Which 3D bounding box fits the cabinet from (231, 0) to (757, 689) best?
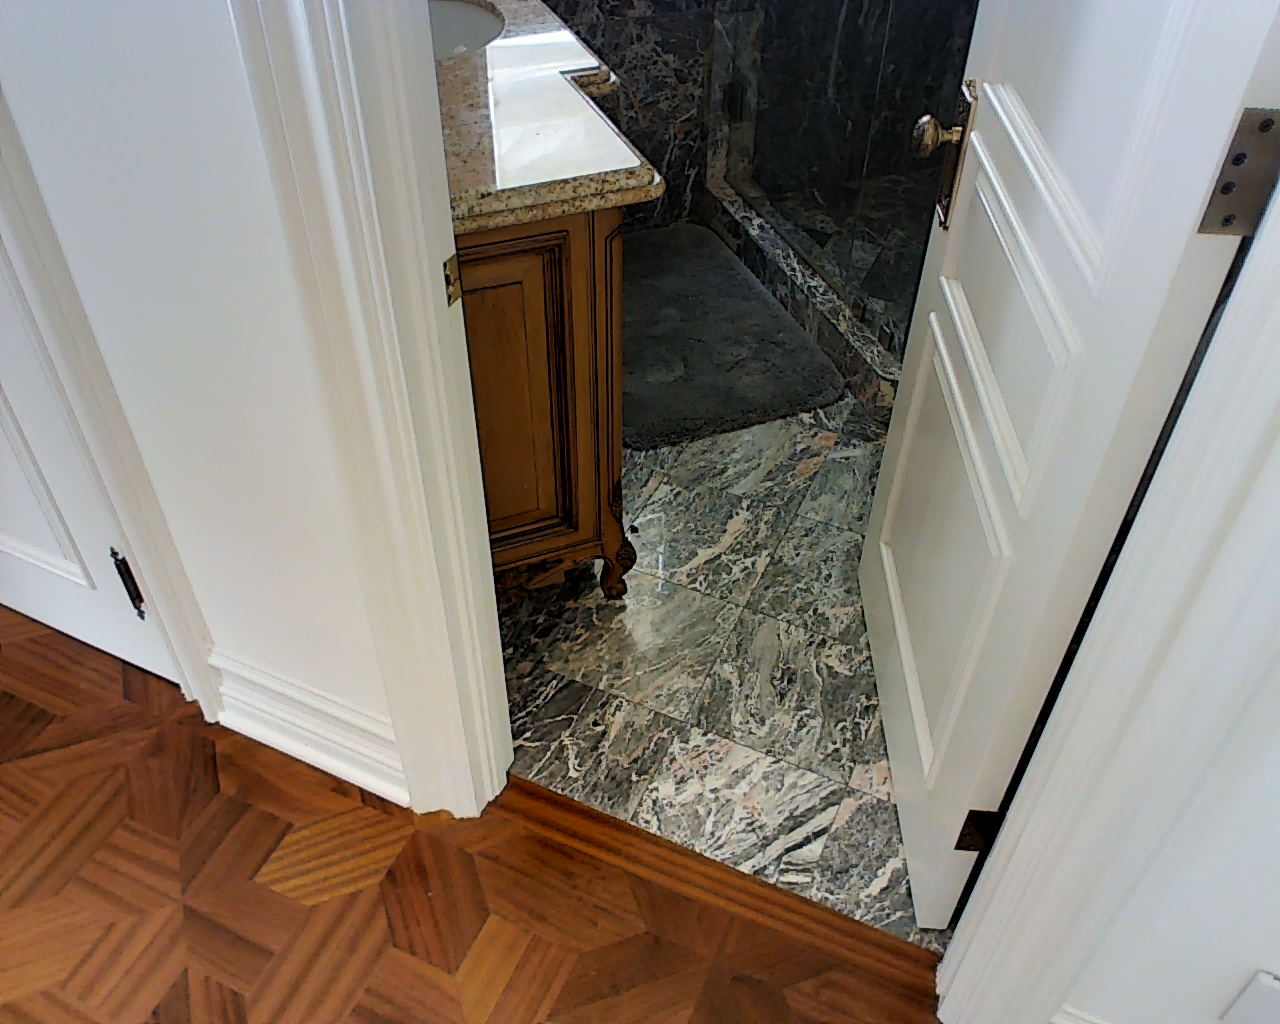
[{"bbox_3d":[-0.350,-0.490,2.180,0.590,0.980,1.230,-16,45,-17],"label":"cabinet"}]
